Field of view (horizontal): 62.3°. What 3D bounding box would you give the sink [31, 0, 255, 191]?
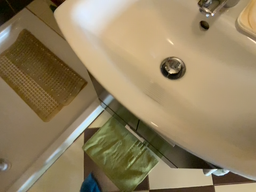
[{"bbox_3d":[0.120,-0.100,0.480,0.520,0.130,0.370,42,76,12],"label":"sink"}]
